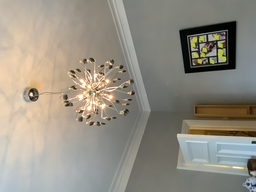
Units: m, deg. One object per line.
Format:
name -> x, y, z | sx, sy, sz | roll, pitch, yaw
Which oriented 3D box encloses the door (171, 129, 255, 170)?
door -> 1.760, 0.790, 2.920 | 0.950, 2.160, 0.120 | 63, -146, -47
